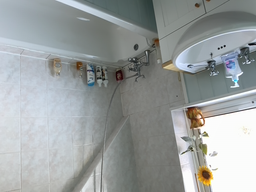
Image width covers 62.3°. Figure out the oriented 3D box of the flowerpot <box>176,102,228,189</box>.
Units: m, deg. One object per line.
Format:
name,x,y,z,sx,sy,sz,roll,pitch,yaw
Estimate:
flowerpot,0.590,0.390,1.720,0.160,0.640,0.230,5,163,-44
